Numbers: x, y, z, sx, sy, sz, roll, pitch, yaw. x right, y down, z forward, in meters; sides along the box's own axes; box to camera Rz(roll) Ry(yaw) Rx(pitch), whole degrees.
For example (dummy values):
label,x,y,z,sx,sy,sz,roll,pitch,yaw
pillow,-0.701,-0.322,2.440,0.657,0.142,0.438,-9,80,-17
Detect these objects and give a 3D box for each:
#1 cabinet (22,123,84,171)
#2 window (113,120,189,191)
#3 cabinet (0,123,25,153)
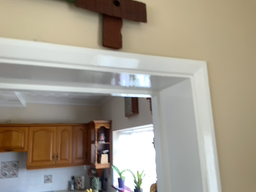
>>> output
label,x,y,z,sx,sy,sz,roll,pitch,yaw
cabinet,-1.440,0.960,4.160,1.090,0.830,0.320,3,-13,-23
window,0.140,0.910,2.890,0.050,0.950,2.110,2,-13,-21
cabinet,-2.210,0.770,3.870,0.570,0.510,0.310,3,-13,-23
